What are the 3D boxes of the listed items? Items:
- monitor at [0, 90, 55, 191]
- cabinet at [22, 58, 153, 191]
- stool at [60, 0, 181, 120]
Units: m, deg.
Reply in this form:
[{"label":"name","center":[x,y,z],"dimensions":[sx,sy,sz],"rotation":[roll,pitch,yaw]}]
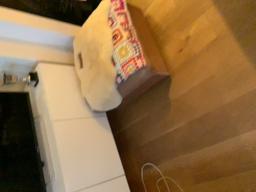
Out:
[{"label":"monitor","center":[-0.830,0.380,1.370],"dimensions":[0.070,0.550,0.910],"rotation":[-37,67,40]},{"label":"cabinet","center":[-0.320,0.460,1.710],"dimensions":[0.420,0.660,1.490],"rotation":[-39,64,40]},{"label":"stool","center":[-0.110,-0.300,1.640],"dimensions":[0.660,0.430,0.720],"rotation":[-39,64,40]}]
